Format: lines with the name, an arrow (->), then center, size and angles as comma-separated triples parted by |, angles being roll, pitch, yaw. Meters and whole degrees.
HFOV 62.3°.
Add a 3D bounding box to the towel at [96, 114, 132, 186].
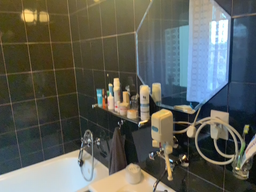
towel -> -0.110, 0.410, 1.660 | 0.160, 0.470, 0.220 | -12, 16, -38
